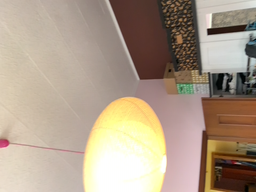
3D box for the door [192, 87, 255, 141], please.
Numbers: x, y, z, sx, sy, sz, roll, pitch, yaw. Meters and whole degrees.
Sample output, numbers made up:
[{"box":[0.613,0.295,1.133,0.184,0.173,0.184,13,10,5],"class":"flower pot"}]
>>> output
[{"box":[1.850,0.250,2.330,0.980,2.110,0.120,61,-143,-47],"class":"door"}]
